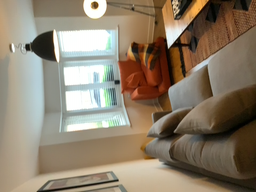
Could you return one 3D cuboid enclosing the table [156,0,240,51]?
[{"bbox_3d":[0.750,-1.110,2.540,1.300,0.360,0.650,134,131,-75],"label":"table"}]
